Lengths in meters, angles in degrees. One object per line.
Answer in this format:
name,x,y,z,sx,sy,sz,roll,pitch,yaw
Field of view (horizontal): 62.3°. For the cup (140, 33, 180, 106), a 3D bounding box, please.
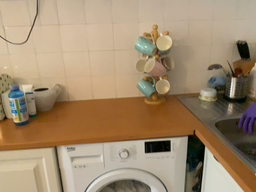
cup,0.180,-0.160,1.280,0.200,0.410,0.140,-3,19,-5
